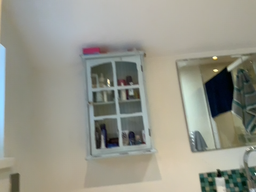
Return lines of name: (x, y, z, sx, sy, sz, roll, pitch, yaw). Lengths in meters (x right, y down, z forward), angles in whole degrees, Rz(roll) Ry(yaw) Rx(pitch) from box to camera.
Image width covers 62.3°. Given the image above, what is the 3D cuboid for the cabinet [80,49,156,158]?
cabinet: (-0.070, 0.040, 1.290, 0.380, 0.600, 0.140, -6, -12, -4)
